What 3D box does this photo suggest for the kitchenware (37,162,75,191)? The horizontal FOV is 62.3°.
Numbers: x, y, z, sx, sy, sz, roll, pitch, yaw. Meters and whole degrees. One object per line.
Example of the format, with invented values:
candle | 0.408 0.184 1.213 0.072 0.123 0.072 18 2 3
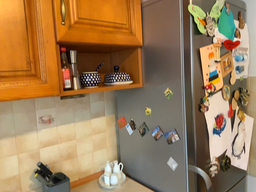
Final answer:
kitchenware | -0.360 0.440 1.060 0.120 0.140 0.160 -9 9 -42
